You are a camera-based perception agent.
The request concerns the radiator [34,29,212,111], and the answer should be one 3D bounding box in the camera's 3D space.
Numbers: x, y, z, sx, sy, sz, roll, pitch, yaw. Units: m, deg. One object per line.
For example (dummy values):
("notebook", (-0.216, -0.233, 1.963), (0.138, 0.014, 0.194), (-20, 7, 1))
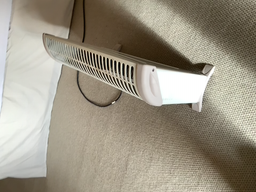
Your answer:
("radiator", (-0.040, -0.110, 0.800), (0.550, 0.380, 0.140), (23, 104, 41))
